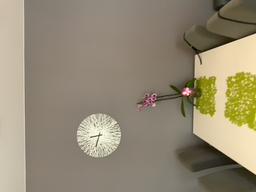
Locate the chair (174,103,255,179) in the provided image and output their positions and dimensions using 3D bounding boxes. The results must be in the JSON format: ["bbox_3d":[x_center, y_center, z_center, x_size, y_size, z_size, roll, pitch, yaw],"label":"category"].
[{"bbox_3d":[0.950,0.360,1.910,0.490,0.940,0.570,179,91,-87],"label":"chair"}]
